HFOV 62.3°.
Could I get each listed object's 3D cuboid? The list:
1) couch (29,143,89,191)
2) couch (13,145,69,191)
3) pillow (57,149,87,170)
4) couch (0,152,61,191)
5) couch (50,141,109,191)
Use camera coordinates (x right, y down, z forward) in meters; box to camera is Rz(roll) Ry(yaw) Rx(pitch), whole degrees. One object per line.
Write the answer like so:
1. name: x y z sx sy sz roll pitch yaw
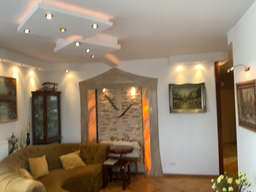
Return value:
1. couch: -1.300 1.370 4.010 1.000 0.840 0.400 -2 -2 17
2. couch: -1.490 1.340 3.650 0.840 0.870 0.370 -2 -2 17
3. pillow: -1.100 1.230 4.170 0.480 0.260 0.300 0 -2 -43
4. couch: -1.570 1.350 3.230 0.970 0.840 0.440 -2 -2 16
5. couch: -0.950 1.390 4.290 0.890 0.770 0.770 -2 -2 17
